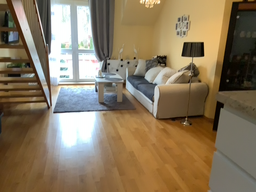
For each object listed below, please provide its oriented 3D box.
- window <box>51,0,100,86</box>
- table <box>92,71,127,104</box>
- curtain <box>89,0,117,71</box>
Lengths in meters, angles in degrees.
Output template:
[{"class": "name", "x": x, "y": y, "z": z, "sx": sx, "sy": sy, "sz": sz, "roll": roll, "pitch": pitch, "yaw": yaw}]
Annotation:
[{"class": "window", "x": -1.440, "y": -1.490, "z": 5.970, "sx": 1.260, "sy": 2.410, "sz": 0.230, "roll": -3, "pitch": 17, "yaw": -17}, {"class": "table", "x": -0.470, "y": -0.240, "z": 4.970, "sx": 0.640, "sy": 0.540, "sz": 1.070, "roll": -2, "pitch": 16, "yaw": -14}, {"class": "curtain", "x": -0.680, "y": -1.720, "z": 5.760, "sx": 0.670, "sy": 2.040, "sz": 0.270, "roll": -3, "pitch": 17, "yaw": -19}]
